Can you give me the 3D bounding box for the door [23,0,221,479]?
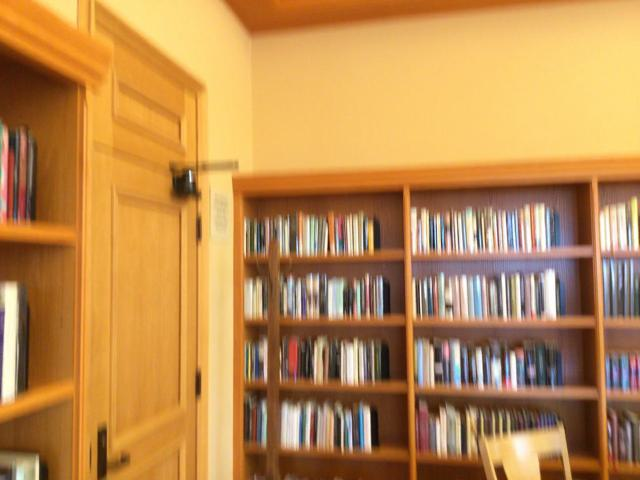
[{"bbox_3d":[-0.750,0.350,2.370,0.210,2.690,1.030,-6,-8,13],"label":"door"}]
